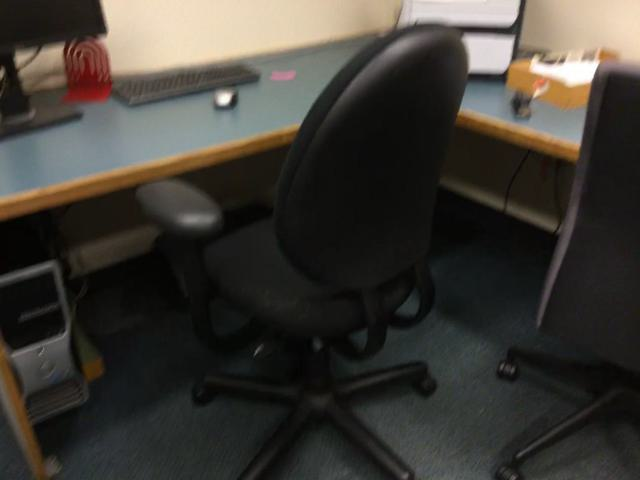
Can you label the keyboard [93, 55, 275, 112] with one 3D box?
[{"bbox_3d":[-0.420,-0.500,1.810,0.480,0.040,0.280,-23,35,-32],"label":"keyboard"}]
